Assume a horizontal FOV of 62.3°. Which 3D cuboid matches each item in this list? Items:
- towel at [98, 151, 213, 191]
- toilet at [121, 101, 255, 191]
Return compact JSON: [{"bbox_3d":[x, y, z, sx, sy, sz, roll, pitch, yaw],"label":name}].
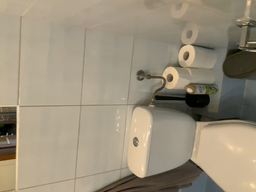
[{"bbox_3d":[0.210,0.510,1.290,0.080,0.820,0.230,18,104,56],"label":"towel"},{"bbox_3d":[0.470,0.280,1.050,0.670,0.740,0.370,20,106,55],"label":"toilet"}]
